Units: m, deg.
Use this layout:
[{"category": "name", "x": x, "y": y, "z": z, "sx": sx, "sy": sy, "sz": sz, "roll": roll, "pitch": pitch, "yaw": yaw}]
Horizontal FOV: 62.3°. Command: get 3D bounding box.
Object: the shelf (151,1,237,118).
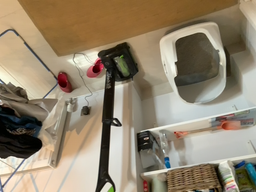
[{"category": "shelf", "x": 0.480, "y": -0.240, "z": 1.560, "sx": 0.430, "sy": 0.490, "sz": 0.570, "roll": -16, "pitch": 137, "yaw": 15}]
